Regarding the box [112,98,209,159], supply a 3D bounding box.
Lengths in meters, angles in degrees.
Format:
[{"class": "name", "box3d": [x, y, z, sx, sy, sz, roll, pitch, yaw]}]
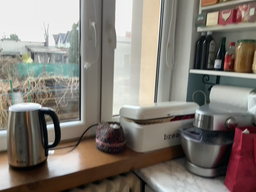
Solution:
[{"class": "box", "box3d": [0.170, 0.150, 1.160, 0.440, 0.210, 0.260, -3, 12, -28]}]
